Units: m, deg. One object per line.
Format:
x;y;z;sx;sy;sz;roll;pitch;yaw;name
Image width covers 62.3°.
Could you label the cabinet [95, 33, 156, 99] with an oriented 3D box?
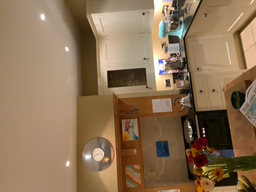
-0.050;-0.510;3.650;0.340;0.950;1.010;84;-177;-78;cabinet
